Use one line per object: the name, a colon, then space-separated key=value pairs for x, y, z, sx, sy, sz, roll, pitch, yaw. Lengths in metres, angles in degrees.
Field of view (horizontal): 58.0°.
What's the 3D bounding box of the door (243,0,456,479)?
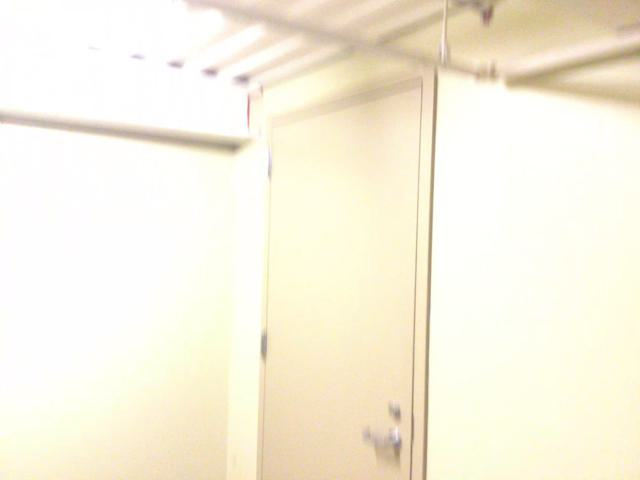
door: x=0.030 y=0.430 z=2.070 sx=0.130 sy=2.240 sz=0.980 roll=1 pitch=1 yaw=-36
